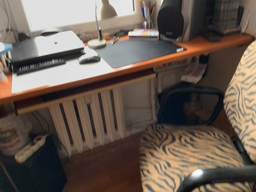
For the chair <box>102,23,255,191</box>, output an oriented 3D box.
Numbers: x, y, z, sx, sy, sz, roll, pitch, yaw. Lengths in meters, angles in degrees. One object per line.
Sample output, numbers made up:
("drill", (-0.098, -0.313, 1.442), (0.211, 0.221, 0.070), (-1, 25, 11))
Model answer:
("chair", (0.280, 0.270, 0.960), (0.580, 1.020, 0.520), (-1, 31, 6))
